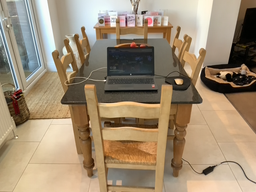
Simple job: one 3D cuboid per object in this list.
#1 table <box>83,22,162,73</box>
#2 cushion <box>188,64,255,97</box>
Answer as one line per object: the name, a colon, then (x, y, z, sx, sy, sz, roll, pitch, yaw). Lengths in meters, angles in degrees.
table: (-0.090, -0.860, 3.740, 1.250, 0.780, 0.440, -1, 29, -1)
cushion: (1.540, -0.250, 3.200, 1.050, 0.230, 0.630, -2, 29, -3)
